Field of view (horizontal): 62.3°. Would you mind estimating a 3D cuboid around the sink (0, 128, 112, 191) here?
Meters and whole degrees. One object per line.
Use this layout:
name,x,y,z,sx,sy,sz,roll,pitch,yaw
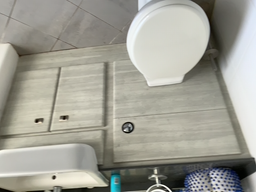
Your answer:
sink,-0.420,0.380,1.140,0.600,0.180,0.510,-5,149,3
